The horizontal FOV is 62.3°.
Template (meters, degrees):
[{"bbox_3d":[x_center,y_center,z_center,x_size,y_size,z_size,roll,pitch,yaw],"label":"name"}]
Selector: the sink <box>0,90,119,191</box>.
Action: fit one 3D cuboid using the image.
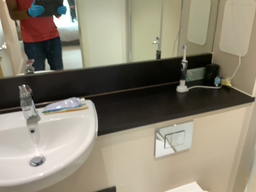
[{"bbox_3d":[-0.370,0.200,0.850,0.530,0.200,0.500,-9,26,-18],"label":"sink"}]
